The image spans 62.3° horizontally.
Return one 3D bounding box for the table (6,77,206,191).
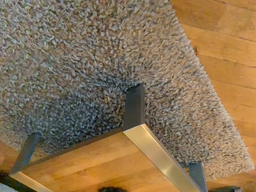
[{"bbox_3d":[-0.090,0.590,1.770,1.070,0.410,1.170,-24,126,22],"label":"table"}]
